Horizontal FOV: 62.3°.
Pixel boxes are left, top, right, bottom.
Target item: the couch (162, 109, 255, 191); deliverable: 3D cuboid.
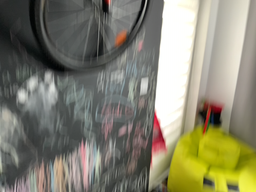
[{"bbox_3d":[0.920,0.760,2.240,1.030,0.800,1.170,5,17,9],"label":"couch"}]
